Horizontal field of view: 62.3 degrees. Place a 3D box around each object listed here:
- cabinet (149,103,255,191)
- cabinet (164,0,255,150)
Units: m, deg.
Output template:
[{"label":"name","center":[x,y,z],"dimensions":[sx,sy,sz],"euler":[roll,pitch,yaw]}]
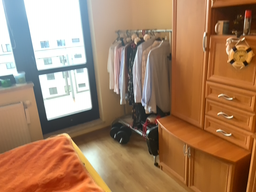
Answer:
[{"label":"cabinet","center":[0.710,0.550,1.990],"dimensions":[0.580,0.630,0.900],"euler":[-15,22,-30]},{"label":"cabinet","center":[0.740,-0.450,1.690],"dimensions":[0.390,1.440,0.870],"euler":[-16,23,-32]}]
